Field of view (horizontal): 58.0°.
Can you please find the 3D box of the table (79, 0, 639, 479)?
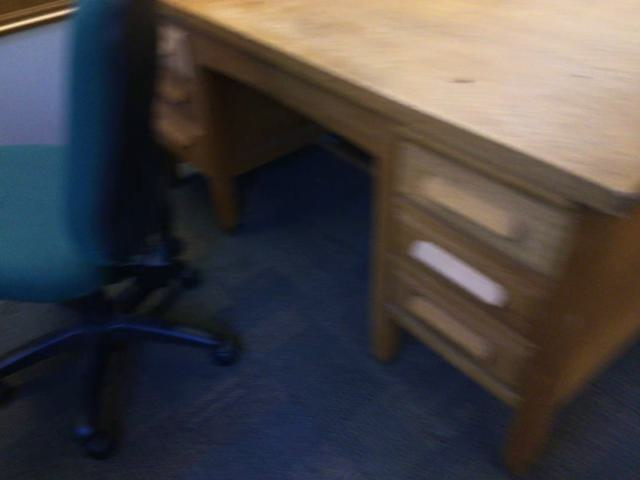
[{"bbox_3d":[0.360,-0.420,1.760,1.350,0.810,1.750,-31,44,-28],"label":"table"}]
